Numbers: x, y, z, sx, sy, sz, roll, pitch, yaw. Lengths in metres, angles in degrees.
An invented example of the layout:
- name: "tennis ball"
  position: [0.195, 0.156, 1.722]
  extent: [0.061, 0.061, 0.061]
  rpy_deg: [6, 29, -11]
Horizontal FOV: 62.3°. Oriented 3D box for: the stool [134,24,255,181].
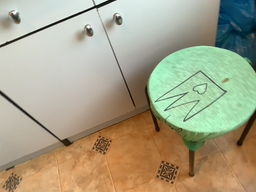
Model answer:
- name: "stool"
  position: [0.270, 0.060, 0.820]
  extent: [0.330, 0.460, 0.320]
  rpy_deg: [-22, 55, 0]
